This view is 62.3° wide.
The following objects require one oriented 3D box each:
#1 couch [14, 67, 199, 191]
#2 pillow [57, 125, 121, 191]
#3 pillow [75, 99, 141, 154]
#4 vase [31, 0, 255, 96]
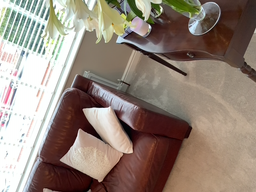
[{"bbox_3d":[-0.340,0.740,1.850,0.980,0.820,1.640,28,96,53],"label":"couch"},{"bbox_3d":[-0.320,0.520,1.770,0.200,0.390,0.410,-90,21,-73],"label":"pillow"},{"bbox_3d":[-0.150,0.230,1.680,0.190,0.430,0.260,-77,7,-86],"label":"pillow"},{"bbox_3d":[0.080,-0.440,0.820,0.600,0.570,0.610,26,95,53],"label":"vase"}]
